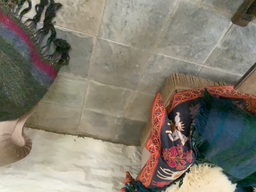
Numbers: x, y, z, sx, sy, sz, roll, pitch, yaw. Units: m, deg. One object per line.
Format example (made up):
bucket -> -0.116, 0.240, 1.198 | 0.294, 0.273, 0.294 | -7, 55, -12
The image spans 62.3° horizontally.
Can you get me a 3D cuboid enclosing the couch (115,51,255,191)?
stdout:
couch -> 0.800, 0.550, 1.370 | 1.580, 0.850, 0.980 | 12, 136, -12
